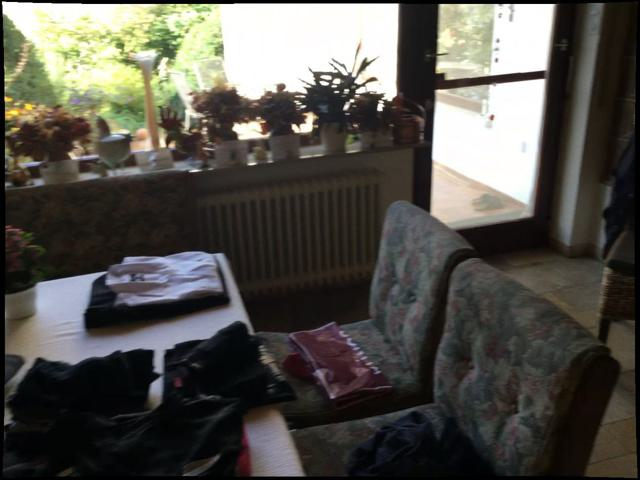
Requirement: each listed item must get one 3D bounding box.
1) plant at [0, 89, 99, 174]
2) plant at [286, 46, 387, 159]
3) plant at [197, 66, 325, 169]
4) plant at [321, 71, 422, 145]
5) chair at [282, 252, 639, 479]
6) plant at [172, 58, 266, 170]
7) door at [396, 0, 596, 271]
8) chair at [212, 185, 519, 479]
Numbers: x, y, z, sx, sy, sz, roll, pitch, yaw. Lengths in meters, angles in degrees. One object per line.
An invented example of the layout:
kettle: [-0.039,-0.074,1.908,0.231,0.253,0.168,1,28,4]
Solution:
plant: [-1.179,-0.480,2.510,0.340,0.260,0.310,-10,25,-13]
plant: [0.080,-0.671,2.790,0.400,0.450,0.260,-10,25,-13]
plant: [-0.280,-0.591,2.750,0.530,0.370,0.260,-10,25,-13]
plant: [0.260,-0.671,2.910,0.430,0.270,0.270,-10,25,-13]
chair: [0.300,0.571,1.360,0.589,0.841,0.560,-10,25,-13]
plant: [-0.470,-0.591,2.680,0.340,0.420,0.300,-10,25,-13]
door: [0.959,-0.861,3.210,1.019,1.982,0.260,-10,25,-13]
chair: [0.100,0.380,1.830,0.679,0.841,0.700,-10,25,-13]
